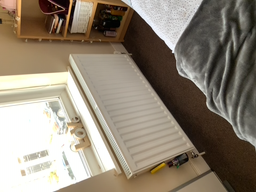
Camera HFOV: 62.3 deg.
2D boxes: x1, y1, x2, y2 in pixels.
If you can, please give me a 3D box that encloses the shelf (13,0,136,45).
[{"bbox_3d":[-0.480,-0.760,2.000,0.310,1.020,0.430,58,138,29],"label":"shelf"}]
